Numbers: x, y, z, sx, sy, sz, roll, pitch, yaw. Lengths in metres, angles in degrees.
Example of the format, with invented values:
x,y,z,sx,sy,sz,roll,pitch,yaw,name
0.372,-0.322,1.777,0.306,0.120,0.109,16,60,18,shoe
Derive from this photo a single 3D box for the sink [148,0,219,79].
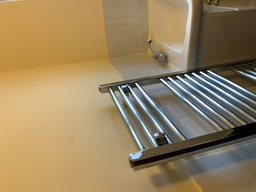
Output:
x,y,z,sx,sy,sz,roll,pitch,yaw,name
0.290,-0.410,1.280,0.530,0.160,0.440,-124,27,-60,sink
